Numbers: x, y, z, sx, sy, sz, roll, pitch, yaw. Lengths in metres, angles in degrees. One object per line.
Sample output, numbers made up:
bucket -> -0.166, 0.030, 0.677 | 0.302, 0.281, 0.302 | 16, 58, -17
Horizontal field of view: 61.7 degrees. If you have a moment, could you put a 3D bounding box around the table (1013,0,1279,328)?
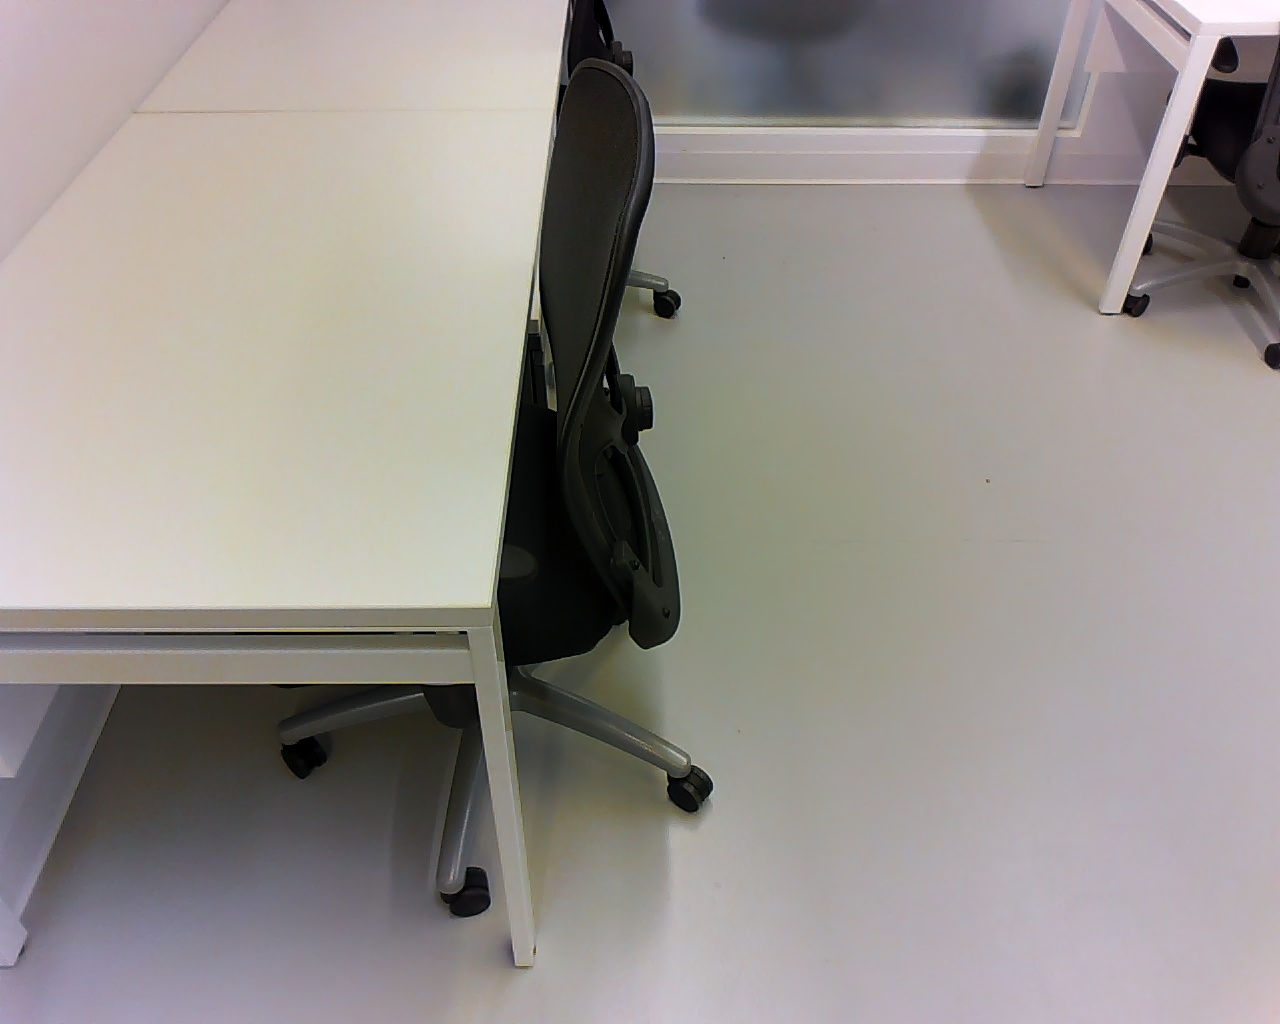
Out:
table -> 1.810, -1.050, 2.830 | 1.240, 0.730, 0.920 | 0, 42, 0

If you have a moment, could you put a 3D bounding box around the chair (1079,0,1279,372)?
chair -> 1.630, -0.940, 2.490 | 0.730, 1.020, 0.670 | 0, 42, 0

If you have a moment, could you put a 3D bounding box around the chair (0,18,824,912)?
chair -> -0.200, -0.010, 1.440 | 0.700, 1.050, 0.610 | 0, 42, 0
